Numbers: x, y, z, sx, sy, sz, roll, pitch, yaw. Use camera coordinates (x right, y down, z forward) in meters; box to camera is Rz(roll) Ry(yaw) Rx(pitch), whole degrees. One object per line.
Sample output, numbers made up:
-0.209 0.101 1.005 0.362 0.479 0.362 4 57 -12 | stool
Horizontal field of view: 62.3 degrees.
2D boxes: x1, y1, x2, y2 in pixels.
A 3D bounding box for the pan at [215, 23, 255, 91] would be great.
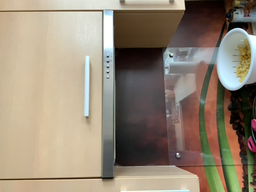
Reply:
0.570 -0.160 0.970 0.280 0.200 0.210 98 171 -76 | pan
